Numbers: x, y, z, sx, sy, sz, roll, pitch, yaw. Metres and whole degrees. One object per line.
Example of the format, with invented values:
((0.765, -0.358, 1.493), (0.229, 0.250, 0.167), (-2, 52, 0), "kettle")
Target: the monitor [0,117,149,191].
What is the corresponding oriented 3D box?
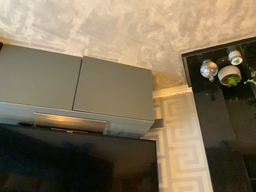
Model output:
((-0.430, 0.510, 1.260), (1.150, 0.720, 0.060), (9, 145, -12), "monitor")
